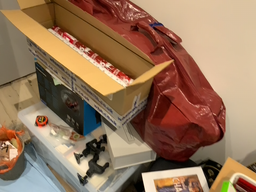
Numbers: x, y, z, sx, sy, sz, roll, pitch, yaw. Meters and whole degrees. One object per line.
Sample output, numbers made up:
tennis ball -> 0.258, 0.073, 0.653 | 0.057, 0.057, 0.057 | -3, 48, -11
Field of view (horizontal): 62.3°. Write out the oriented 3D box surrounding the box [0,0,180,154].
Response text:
box -> -0.310, -0.240, 1.090 | 1.000, 0.410, 0.370 | 34, 46, 27

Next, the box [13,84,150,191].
box -> -0.330, 0.350, 1.440 | 0.810, 0.400, 0.410 | 34, 46, 27

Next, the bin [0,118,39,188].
bin -> -0.800, 0.370, 1.410 | 0.320, 0.240, 0.210 | 32, 46, 26

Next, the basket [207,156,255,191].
basket -> 0.360, 0.340, 0.760 | 0.110, 0.080, 0.220 | 33, 46, 26
